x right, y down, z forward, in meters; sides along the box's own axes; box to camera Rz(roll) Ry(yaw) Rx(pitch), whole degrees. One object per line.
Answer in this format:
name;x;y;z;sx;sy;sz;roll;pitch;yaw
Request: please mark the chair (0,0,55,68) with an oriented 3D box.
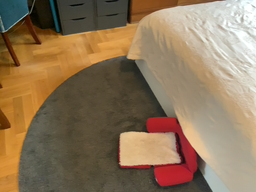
chair;-1.060;-0.790;1.710;0.610;0.980;0.410;13;49;5
